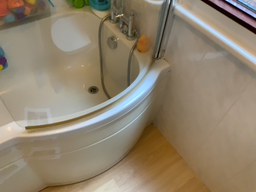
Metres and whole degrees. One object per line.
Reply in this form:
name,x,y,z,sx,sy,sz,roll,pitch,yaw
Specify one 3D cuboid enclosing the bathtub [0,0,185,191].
bathtub,-0.690,0.150,1.060,1.690,0.570,0.830,-26,58,-24
